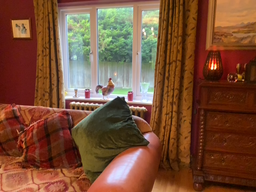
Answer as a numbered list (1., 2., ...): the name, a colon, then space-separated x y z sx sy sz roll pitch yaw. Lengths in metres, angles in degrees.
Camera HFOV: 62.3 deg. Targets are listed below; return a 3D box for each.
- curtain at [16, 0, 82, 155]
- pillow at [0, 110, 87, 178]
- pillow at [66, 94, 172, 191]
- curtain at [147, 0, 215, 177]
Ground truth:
1. curtain: -1.050 -0.410 2.920 0.610 2.270 0.510 5 10 19
2. pillow: -0.760 0.390 1.930 0.590 0.370 0.500 4 10 18
3. pillow: -0.120 0.350 1.710 0.550 0.600 0.730 -4 11 -31
4. curtain: 0.610 -0.240 2.530 0.610 2.250 0.470 4 9 13
